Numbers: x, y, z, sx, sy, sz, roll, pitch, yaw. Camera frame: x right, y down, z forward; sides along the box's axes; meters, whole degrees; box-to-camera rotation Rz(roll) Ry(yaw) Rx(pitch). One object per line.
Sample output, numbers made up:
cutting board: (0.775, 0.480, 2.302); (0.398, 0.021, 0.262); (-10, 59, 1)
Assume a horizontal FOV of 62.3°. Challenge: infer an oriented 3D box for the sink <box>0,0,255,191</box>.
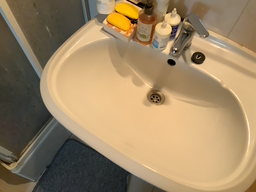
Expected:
sink: (0.060, 0.000, 0.670); (0.620, 0.220, 0.480); (28, 65, 11)
